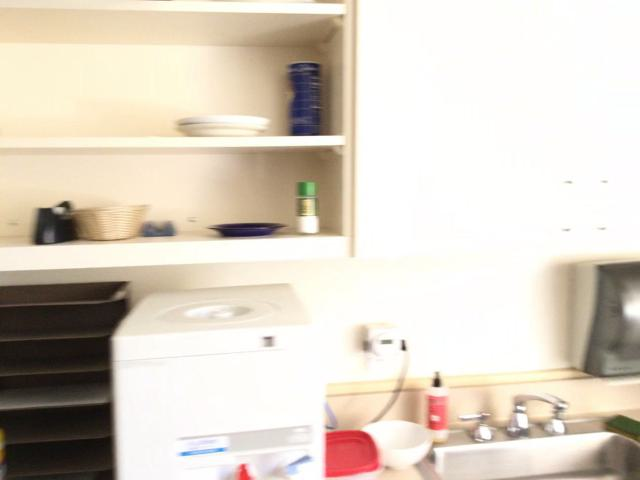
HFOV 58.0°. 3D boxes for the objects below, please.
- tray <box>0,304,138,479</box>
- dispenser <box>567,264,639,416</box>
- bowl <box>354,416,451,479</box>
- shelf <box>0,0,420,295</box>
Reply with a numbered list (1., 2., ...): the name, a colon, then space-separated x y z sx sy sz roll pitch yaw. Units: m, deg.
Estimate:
1. tray: -0.610 0.350 1.310 0.340 0.370 0.220 0 5 -8
2. dispenser: 0.870 0.240 1.490 0.340 0.330 0.240 0 5 -8
3. bowl: 0.190 0.490 1.380 0.180 0.060 0.200 0 5 -8
4. shelf: -0.860 -0.330 1.110 2.030 0.810 0.440 0 5 -8
